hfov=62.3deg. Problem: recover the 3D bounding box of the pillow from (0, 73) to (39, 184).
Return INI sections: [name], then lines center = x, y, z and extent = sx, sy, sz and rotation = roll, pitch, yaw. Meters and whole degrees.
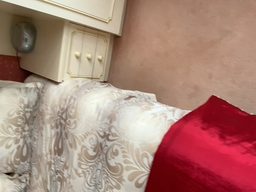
[pillow]
center = -0.890, 0.220, 1.480
extent = 0.230, 0.440, 0.730
rotation = -150, 59, -69
